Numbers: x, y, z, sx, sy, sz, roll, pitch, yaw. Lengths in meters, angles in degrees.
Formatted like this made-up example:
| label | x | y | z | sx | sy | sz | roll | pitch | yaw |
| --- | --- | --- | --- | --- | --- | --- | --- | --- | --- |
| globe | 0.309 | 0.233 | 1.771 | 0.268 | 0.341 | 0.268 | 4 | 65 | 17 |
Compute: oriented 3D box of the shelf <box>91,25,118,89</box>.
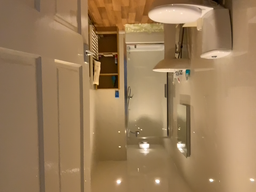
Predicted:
| label | x | y | z | sx | sy | sz | roll | pitch | yaw |
| --- | --- | --- | --- | --- | --- | --- | --- | --- | --- |
| shelf | -0.400 | -0.660 | 3.720 | 0.430 | 1.060 | 0.310 | -1 | -177 | -1 |

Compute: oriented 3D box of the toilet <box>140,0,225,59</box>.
| label | x | y | z | sx | sy | sz | roll | pitch | yaw |
| --- | --- | --- | --- | --- | --- | --- | --- | --- | --- |
| toilet | 0.440 | -0.730 | 1.870 | 0.640 | 0.750 | 0.420 | -1 | -177 | -1 |
